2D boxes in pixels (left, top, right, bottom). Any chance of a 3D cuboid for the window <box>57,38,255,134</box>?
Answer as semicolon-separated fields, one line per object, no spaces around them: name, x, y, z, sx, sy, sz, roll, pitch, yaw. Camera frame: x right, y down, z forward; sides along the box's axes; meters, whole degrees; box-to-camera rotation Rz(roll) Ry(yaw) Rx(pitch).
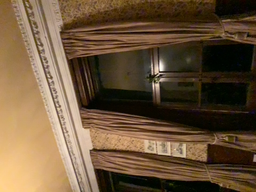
window;0.530;-0.150;3.500;0.260;3.440;1.400;-56;-37;-55
